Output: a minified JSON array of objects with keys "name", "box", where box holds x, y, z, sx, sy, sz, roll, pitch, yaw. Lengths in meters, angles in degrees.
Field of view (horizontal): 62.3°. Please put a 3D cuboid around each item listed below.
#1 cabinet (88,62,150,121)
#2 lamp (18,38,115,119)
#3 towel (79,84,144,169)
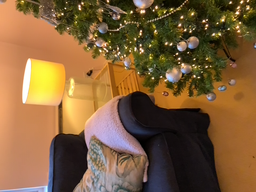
[{"name":"cabinet","box":[-0.100,-0.020,1.980,0.380,0.380,0.380,-39,52,45]},{"name":"lamp","box":[-0.490,-0.100,1.680,0.370,0.610,0.410,-43,50,43]},{"name":"towel","box":[-0.140,0.220,1.410,0.470,0.170,0.410,-38,53,46]}]
